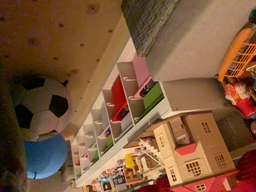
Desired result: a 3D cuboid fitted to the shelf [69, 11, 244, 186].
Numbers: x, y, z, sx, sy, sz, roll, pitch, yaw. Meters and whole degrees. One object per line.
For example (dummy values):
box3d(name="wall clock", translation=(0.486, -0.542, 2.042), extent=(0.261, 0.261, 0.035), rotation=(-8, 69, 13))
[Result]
box3d(name="shelf", translation=(-0.090, 0.290, 1.800), extent=(0.440, 0.540, 1.990), rotation=(-4, 153, -27))
